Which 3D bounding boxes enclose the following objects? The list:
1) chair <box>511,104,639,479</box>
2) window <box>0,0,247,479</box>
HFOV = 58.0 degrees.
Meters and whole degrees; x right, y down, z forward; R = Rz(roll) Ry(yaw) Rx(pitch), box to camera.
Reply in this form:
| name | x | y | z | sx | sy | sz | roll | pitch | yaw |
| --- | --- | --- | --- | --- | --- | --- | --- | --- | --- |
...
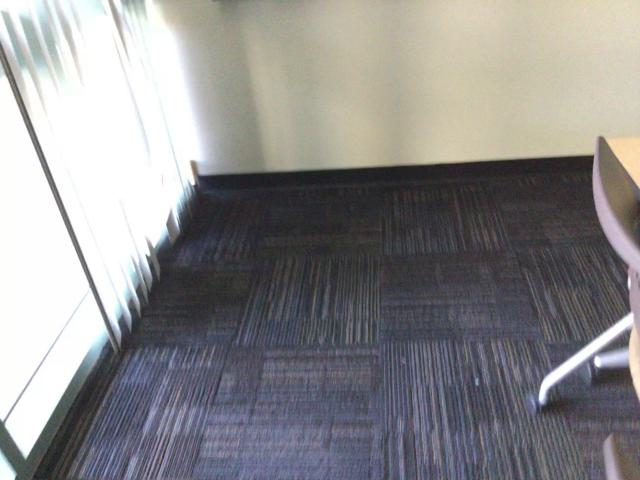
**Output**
| name | x | y | z | sx | sy | sz | roll | pitch | yaw |
| --- | --- | --- | --- | --- | --- | --- | --- | --- | --- |
| chair | 0.720 | 0.260 | 1.070 | 0.560 | 0.850 | 0.690 | -4 | 29 | 9 |
| window | -0.860 | 0.300 | 1.030 | 0.470 | 1.270 | 3.550 | -4 | 29 | 9 |
